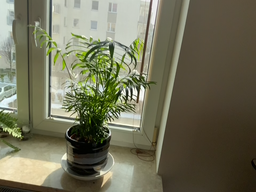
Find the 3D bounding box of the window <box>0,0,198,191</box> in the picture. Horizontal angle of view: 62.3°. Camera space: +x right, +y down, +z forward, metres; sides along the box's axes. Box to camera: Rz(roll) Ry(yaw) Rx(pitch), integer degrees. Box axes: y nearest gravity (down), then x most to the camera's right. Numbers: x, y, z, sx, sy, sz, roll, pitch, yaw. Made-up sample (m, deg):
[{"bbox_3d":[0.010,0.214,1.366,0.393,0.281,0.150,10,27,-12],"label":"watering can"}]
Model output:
[{"bbox_3d":[-0.480,-0.390,1.010,1.530,1.670,0.130,8,16,4],"label":"window"}]
